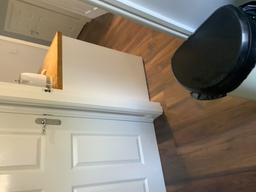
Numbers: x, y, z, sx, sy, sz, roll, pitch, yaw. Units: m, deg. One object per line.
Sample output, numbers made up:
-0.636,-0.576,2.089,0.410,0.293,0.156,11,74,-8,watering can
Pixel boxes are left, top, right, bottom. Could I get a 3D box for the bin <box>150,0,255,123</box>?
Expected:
0.530,-0.120,0.950,0.490,0.650,0.280,-42,50,44,bin
